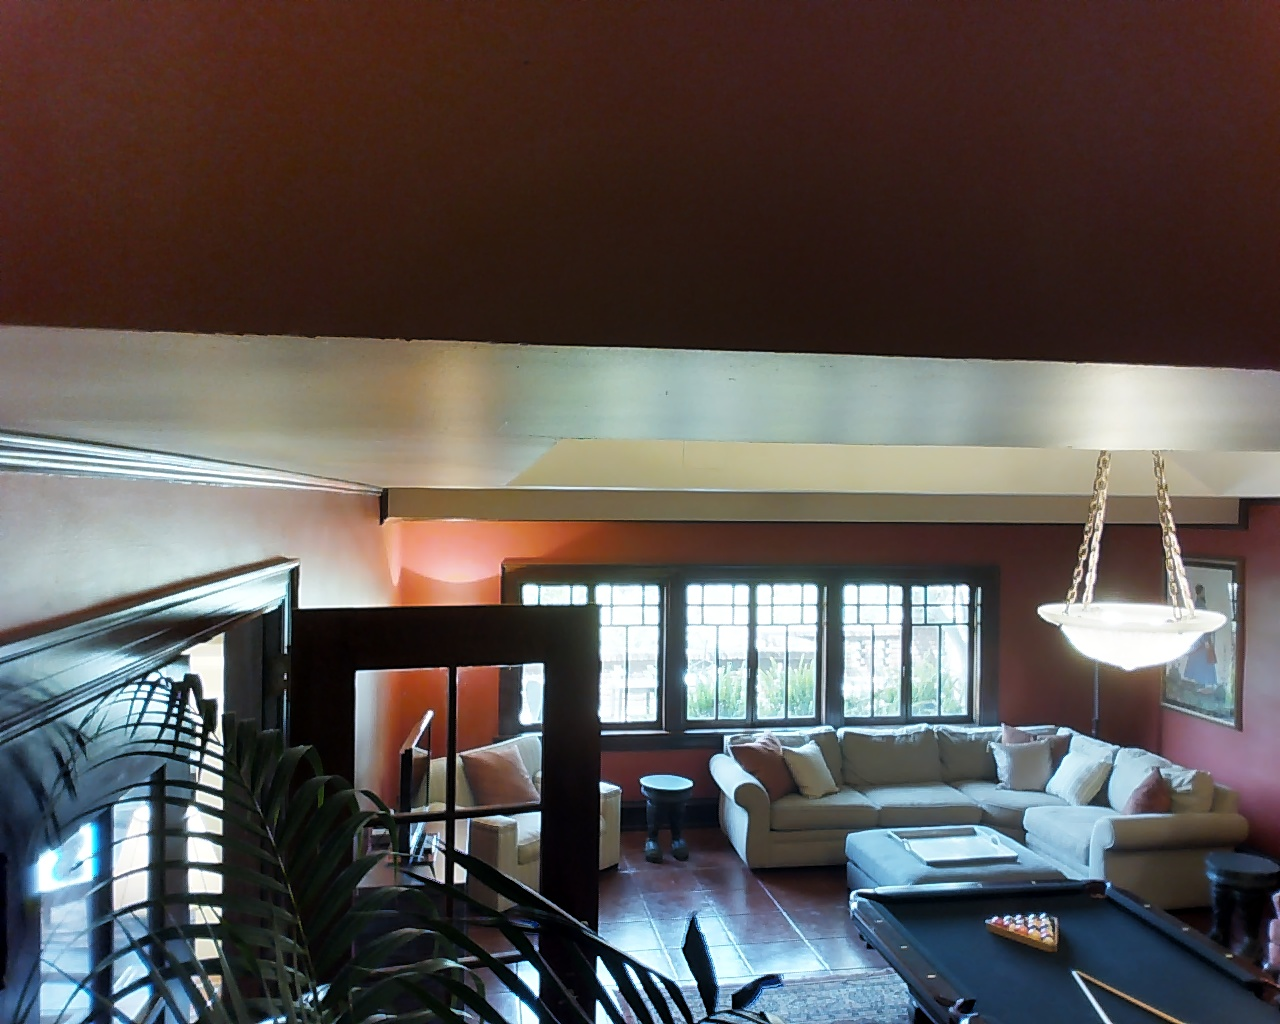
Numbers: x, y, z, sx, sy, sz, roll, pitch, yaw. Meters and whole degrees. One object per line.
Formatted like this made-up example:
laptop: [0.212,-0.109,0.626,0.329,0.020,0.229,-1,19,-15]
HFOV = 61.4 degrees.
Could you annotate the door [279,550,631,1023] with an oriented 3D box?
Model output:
door: [-0.630,1.380,3.720,1.160,2.490,0.210,1,0,-17]

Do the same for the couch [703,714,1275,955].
couch: [2.300,2.200,7.900,3.210,0.930,2.470,1,0,-9]
